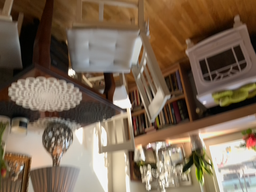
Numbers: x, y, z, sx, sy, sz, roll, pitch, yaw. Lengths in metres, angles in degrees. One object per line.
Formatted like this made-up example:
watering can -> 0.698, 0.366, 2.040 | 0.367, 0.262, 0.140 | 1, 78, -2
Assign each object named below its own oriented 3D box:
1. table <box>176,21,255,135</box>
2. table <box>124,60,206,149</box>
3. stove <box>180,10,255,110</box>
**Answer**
table -> 1.000, -0.140, 2.010 | 0.850, 0.760, 0.390 | -23, 148, 31
table -> 0.380, 0.130, 2.430 | 0.730, 0.760, 0.380 | -23, 148, 31
stove -> 0.820, -0.290, 1.840 | 0.510, 0.620, 0.350 | -22, 149, 29
